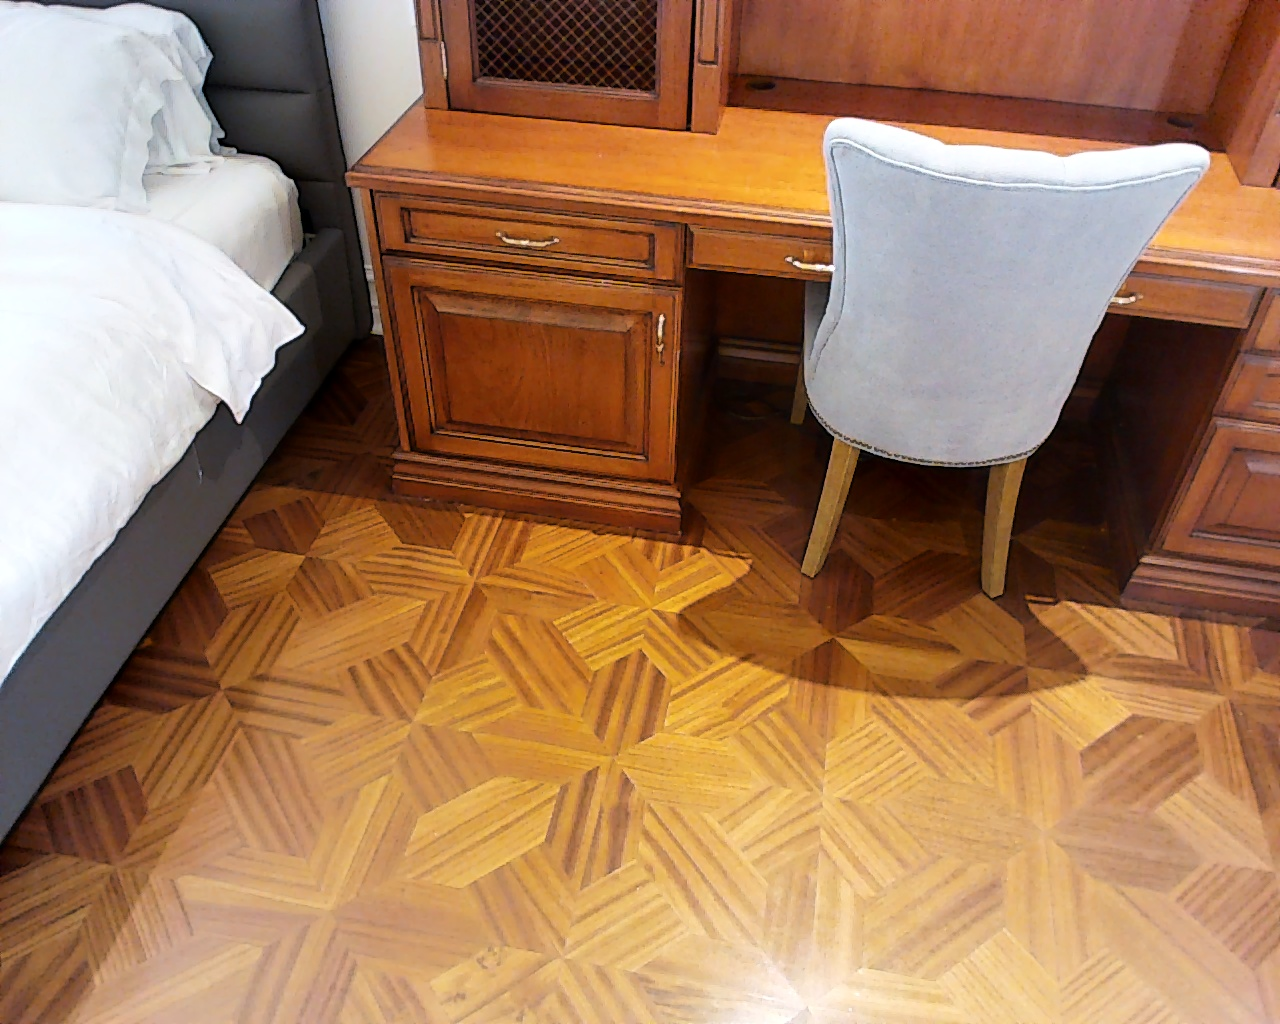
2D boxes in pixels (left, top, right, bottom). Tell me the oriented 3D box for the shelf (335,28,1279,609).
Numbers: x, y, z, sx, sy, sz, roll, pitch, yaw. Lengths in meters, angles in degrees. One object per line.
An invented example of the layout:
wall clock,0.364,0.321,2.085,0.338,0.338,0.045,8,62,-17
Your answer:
shelf,0.620,-0.430,2.320,2.250,0.800,0.730,7,42,6
